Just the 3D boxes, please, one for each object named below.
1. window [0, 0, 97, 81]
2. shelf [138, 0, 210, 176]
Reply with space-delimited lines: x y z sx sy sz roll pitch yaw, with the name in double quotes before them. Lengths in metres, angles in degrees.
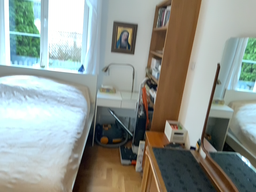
"window" -1.350 -1.300 3.360 1.630 1.970 0.200 6 15 -5
"shelf" 0.490 -0.140 2.820 0.350 2.060 0.970 6 15 -5
